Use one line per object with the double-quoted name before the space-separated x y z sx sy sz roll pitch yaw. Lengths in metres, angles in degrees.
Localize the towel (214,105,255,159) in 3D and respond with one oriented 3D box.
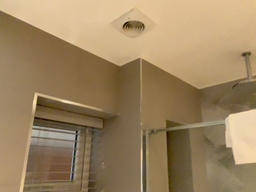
"towel" 0.500 0.150 0.850 0.240 0.190 0.130 -15 -24 42
